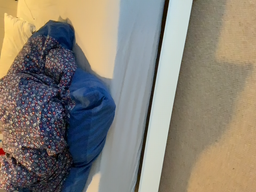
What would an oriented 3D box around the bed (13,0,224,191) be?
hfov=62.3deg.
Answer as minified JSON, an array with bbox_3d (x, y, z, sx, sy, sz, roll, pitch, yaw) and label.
[{"bbox_3d":[-0.440,-0.190,1.700,2.020,0.500,1.360,24,110,49],"label":"bed"}]

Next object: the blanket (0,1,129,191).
[{"bbox_3d":[-0.510,0.070,1.100,0.860,0.390,0.820,46,125,40],"label":"blanket"}]
